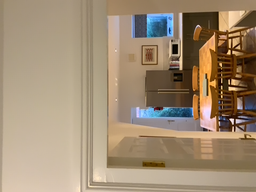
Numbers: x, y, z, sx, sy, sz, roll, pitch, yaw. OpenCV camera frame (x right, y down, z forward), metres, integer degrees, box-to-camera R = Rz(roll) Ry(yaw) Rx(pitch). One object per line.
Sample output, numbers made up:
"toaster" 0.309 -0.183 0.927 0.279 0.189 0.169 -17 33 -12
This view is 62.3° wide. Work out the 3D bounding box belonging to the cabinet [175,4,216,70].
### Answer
"cabinet" 1.790 -1.530 5.720 0.580 0.910 1.590 1 -92 -85
